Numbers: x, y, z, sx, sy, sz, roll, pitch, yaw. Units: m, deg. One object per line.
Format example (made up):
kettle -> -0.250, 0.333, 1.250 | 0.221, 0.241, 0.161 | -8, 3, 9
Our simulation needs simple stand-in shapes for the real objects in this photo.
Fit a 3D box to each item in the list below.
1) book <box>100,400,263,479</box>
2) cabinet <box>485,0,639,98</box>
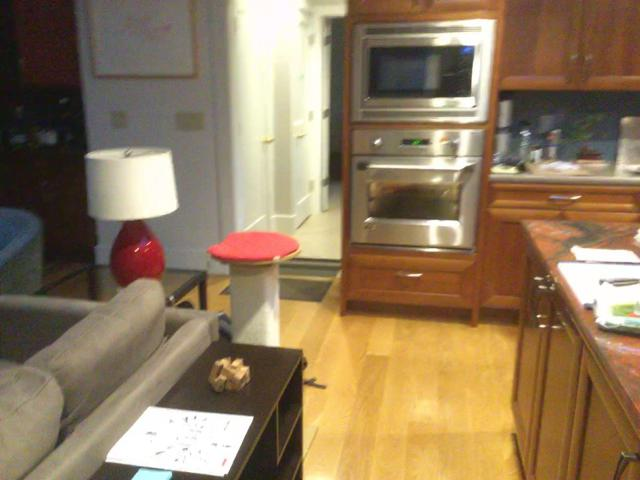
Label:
book -> -0.310, 0.460, 1.340 | 0.300, 0.040, 0.220 | 2, 17, 11
cabinet -> 1.560, -1.270, 2.930 | 1.330, 1.030, 0.290 | 2, 17, 11
